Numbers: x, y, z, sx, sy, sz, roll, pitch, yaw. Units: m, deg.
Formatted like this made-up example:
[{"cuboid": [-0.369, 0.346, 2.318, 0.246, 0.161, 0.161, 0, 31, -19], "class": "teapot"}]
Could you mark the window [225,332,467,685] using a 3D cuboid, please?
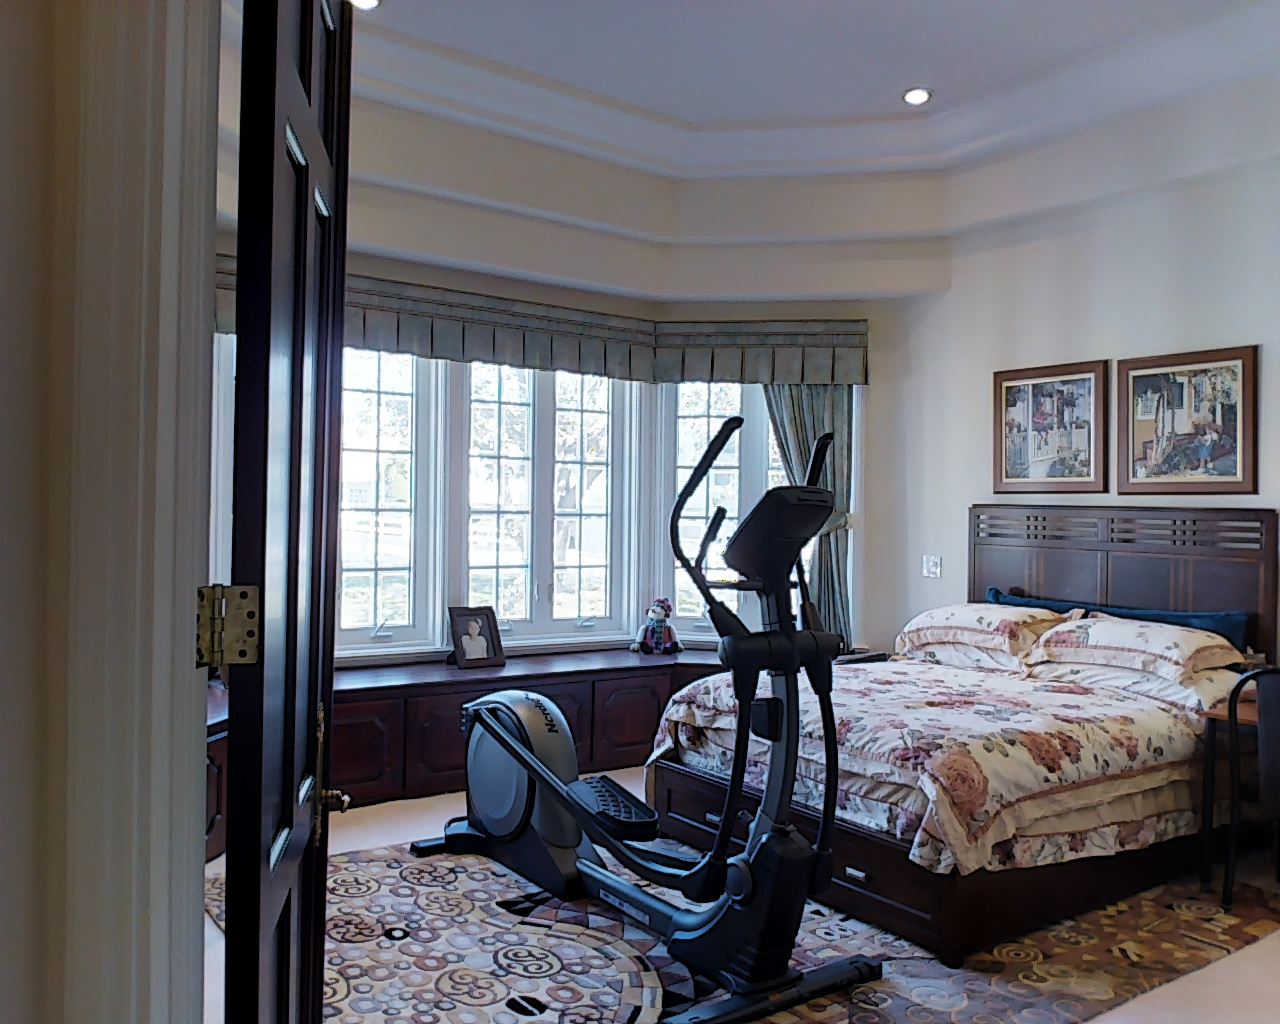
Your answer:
[{"cuboid": [-1.500, -0.010, 5.560, 1.170, 1.690, 0.230, 1, 0, -36], "class": "window"}]

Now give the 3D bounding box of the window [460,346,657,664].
[{"cuboid": [-0.460, -0.030, 6.380, 1.220, 1.770, 0.170, 1, 0, -36], "class": "window"}]

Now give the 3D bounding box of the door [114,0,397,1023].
[{"cuboid": [-0.600, 0.160, 1.790, 0.200, 2.480, 0.740, 1, 0, -2], "class": "door"}]

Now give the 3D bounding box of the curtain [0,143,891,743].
[{"cuboid": [-0.720, -0.210, 5.530, 4.610, 2.100, 1.120, 1, 0, -36], "class": "curtain"}]
